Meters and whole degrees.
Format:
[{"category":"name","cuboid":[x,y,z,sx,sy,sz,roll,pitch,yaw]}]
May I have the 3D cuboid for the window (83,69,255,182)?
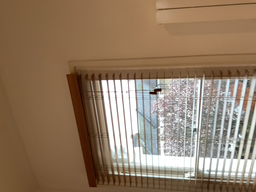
[{"category":"window","cuboid":[0.480,0.240,1.440,0.060,1.460,0.860,-73,-20,-60]}]
